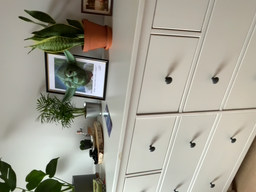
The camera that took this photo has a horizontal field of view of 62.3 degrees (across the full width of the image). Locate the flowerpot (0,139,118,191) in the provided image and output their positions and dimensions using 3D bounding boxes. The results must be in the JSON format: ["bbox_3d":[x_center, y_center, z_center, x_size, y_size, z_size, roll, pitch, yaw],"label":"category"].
[{"bbox_3d":[-0.440,0.570,1.230,0.550,0.680,0.270,-119,33,-54],"label":"flowerpot"}]

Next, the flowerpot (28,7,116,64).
[{"bbox_3d":[-0.260,-0.280,0.990,0.190,0.350,0.190,-121,35,-56],"label":"flowerpot"}]
